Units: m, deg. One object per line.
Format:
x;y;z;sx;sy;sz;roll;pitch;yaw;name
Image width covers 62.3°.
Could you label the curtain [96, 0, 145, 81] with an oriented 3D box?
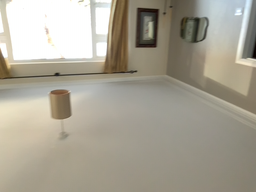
-0.130;-1.520;3.430;0.690;2.500;0.410;-5;-160;-18;curtain
